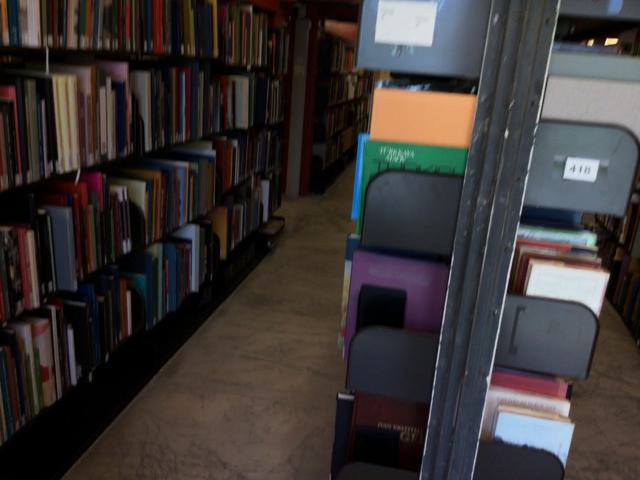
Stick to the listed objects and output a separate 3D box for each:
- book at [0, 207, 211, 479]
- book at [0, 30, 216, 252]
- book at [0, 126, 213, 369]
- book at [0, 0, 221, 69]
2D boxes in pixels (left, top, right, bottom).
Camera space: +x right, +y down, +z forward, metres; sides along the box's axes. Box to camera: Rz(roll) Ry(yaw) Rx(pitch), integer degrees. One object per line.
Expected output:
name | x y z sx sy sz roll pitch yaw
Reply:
book | -0.850 0.280 2.240 0.360 0.450 1.430 6 18 9
book | -0.850 -0.470 2.120 0.430 0.530 1.520 6 18 9
book | -0.830 -0.110 2.190 0.340 0.450 1.490 6 18 9
book | -0.750 -0.820 2.010 0.310 0.390 1.510 6 18 9
